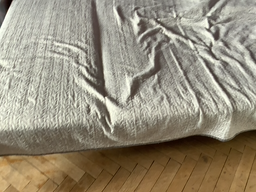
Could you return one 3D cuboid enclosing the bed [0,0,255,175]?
[{"bbox_3d":[0.190,-0.360,1.550,2.140,0.400,1.510,-4,49,-7],"label":"bed"}]
